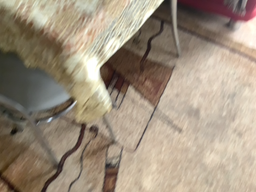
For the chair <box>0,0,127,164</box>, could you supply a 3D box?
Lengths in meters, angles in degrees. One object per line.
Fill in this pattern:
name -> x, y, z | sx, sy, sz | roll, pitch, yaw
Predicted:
chair -> -0.320, -0.120, 0.820 | 0.400, 0.780, 0.440 | 35, 69, 20
